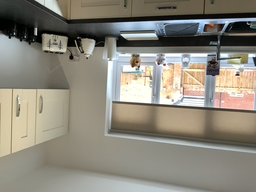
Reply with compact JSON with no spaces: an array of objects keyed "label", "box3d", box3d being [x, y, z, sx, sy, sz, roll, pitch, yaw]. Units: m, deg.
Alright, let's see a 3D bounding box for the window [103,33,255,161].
[{"label":"window","box3d":[0.610,-0.030,2.530,1.800,1.370,0.170,3,-177,12]}]
